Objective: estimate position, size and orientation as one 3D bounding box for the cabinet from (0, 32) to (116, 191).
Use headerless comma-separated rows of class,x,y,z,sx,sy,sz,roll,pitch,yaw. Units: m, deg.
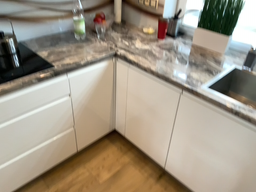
cabinet,-0.700,0.100,1.620,1.070,0.830,0.580,-27,46,-37
